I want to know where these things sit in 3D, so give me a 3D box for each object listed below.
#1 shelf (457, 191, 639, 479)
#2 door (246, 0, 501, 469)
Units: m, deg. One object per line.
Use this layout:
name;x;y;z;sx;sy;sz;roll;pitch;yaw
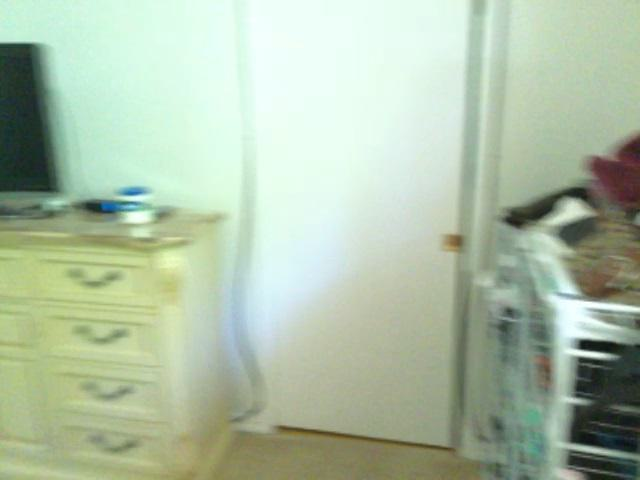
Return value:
shelf;0.710;0.510;1.580;0.590;1.100;1.130;6;14;14
door;0.160;-0.010;2.270;0.870;1.750;0.200;6;14;14
